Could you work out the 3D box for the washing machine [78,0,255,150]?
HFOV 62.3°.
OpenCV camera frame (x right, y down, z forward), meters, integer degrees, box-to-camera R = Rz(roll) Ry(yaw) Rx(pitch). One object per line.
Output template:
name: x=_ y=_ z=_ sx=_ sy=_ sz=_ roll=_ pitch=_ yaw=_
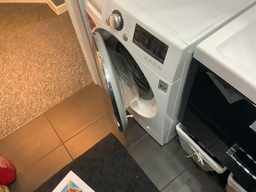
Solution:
washing machine: x=0.170 y=-0.220 z=1.160 sx=0.500 sy=0.850 sz=0.590 roll=-34 pitch=61 yaw=-16
